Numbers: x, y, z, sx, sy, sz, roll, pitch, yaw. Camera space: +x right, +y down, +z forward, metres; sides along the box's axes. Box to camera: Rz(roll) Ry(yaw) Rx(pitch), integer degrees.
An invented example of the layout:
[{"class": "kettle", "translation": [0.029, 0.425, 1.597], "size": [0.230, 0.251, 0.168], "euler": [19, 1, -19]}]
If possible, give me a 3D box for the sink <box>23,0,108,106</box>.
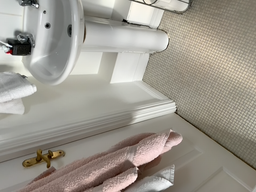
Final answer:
[{"class": "sink", "translation": [-0.340, -0.310, 1.070], "size": [0.390, 0.190, 0.580], "euler": [37, 121, 36]}]
